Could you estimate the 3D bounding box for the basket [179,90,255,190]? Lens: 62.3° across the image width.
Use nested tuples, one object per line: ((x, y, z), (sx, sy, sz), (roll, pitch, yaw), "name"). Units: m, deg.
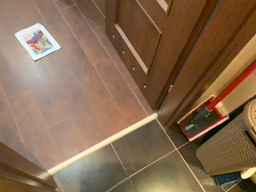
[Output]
((0.530, 0.240, 1.050), (0.230, 0.590, 0.300), (-27, 70, -19), "basket")
